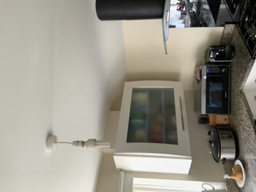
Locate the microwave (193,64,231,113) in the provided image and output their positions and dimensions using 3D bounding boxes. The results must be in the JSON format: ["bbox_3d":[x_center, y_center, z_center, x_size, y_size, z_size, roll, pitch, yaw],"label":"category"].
[{"bbox_3d":[0.930,-0.090,2.400,0.350,0.300,0.510,-22,-67,-84],"label":"microwave"}]

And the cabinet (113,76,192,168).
[{"bbox_3d":[0.270,0.240,2.380,0.340,0.710,1.000,85,-172,-47],"label":"cabinet"}]
